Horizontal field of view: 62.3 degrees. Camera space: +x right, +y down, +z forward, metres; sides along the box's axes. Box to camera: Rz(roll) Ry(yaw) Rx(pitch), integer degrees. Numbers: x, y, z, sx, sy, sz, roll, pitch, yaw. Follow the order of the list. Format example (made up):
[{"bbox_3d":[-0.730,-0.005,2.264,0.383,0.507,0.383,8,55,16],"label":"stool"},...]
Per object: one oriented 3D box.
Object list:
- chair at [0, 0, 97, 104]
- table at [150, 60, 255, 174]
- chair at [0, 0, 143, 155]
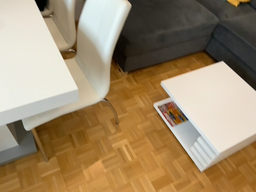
[{"bbox_3d":[-0.570,-0.470,1.520,0.550,0.910,0.440,-19,55,-22],"label":"chair"},{"bbox_3d":[0.610,0.110,1.580,0.610,0.310,0.620,-19,55,-22],"label":"table"},{"bbox_3d":[-0.340,-0.160,1.270,0.550,0.930,0.470,-19,55,-22],"label":"chair"}]
